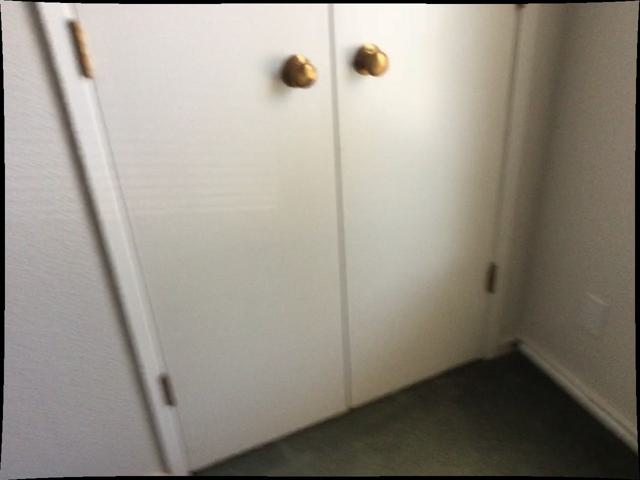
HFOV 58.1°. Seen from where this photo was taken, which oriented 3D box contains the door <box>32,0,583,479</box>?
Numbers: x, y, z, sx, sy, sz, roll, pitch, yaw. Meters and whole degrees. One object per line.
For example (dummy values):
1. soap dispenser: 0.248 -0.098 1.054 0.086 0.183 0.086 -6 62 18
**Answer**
1. door: 0.060 -0.431 1.130 1.109 2.143 0.110 -15 33 -20
